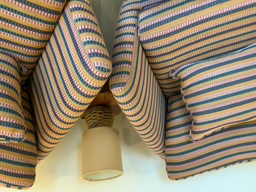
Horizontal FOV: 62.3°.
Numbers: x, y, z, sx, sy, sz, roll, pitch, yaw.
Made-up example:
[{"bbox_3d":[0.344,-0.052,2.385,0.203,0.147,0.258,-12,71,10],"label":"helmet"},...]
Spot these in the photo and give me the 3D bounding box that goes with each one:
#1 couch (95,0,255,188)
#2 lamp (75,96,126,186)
[{"bbox_3d":[0.410,-0.110,1.040,0.870,0.790,0.820,-14,146,7],"label":"couch"},{"bbox_3d":[-0.150,0.240,1.110,0.210,0.350,0.310,-4,146,-9],"label":"lamp"}]
